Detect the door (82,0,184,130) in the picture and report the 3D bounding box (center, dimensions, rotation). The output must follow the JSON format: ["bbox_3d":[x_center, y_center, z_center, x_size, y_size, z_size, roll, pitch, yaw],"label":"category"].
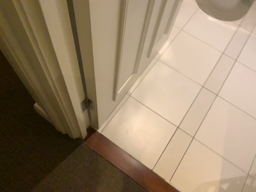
[{"bbox_3d":[0.150,-0.550,0.450,0.030,2.020,0.790,32,65,10],"label":"door"}]
